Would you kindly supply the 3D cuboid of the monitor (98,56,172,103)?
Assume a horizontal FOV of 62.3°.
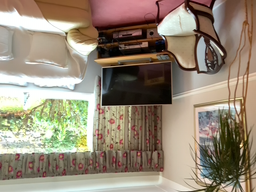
[{"bbox_3d":[0.090,-0.230,3.160,1.100,0.660,0.050,-1,171,16],"label":"monitor"}]
